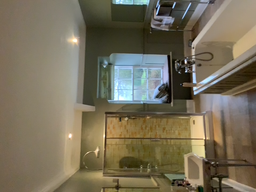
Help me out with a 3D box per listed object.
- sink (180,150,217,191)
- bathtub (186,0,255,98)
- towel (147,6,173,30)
[{"bbox_3d":[0.860,0.940,2.660,0.680,0.190,0.500,100,170,-77],"label":"sink"},{"bbox_3d":[1.320,-0.620,2.590,1.870,0.620,0.950,102,168,-79],"label":"bathtub"},{"bbox_3d":[0.680,-1.670,4.570,0.460,0.470,0.280,100,170,-77],"label":"towel"}]
